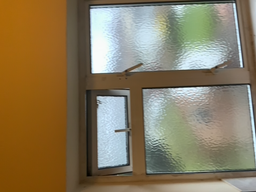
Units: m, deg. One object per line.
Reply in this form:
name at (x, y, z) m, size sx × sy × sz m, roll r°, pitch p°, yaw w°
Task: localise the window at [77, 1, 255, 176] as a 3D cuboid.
window at (0.210, -0.050, 1.110) m, size 0.060 × 0.940 × 0.870 m, roll 82°, pitch -173°, yaw -85°
